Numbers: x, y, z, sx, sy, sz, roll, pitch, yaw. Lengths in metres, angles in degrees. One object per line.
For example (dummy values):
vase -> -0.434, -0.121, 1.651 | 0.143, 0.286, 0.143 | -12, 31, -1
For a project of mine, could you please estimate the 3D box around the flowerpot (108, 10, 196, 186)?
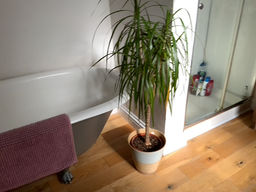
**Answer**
flowerpot -> 0.130, 0.030, 1.340 | 0.290, 1.020, 0.360 | -19, 33, -28
